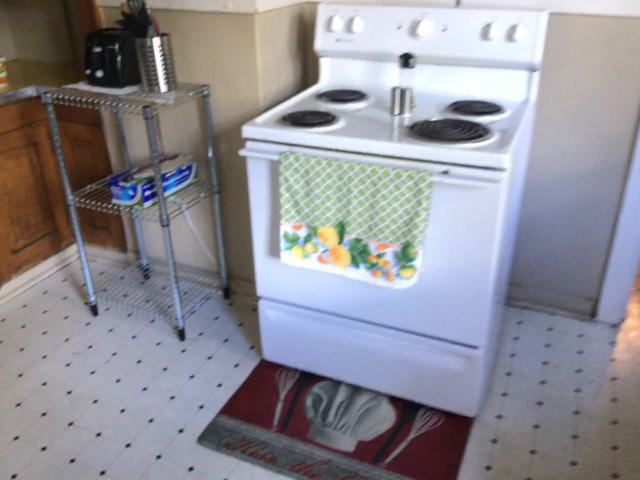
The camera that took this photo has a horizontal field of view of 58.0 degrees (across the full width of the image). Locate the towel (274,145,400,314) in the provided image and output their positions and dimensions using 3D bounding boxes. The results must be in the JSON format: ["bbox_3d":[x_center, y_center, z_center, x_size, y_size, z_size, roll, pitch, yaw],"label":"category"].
[{"bbox_3d":[0.040,-0.030,1.680,0.340,0.440,0.080,11,28,20],"label":"towel"}]

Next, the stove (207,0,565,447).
[{"bbox_3d":[0.250,-0.150,1.980,0.850,1.180,0.840,11,28,20],"label":"stove"}]
